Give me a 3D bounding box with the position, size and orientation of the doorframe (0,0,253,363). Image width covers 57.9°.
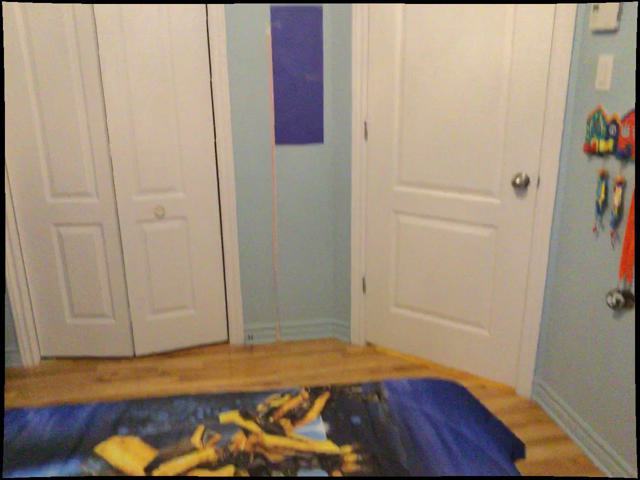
[{"bbox_3d":[-0.879,-0.430,2.510,1.049,2.002,0.130,-4,19,-8],"label":"doorframe"}]
